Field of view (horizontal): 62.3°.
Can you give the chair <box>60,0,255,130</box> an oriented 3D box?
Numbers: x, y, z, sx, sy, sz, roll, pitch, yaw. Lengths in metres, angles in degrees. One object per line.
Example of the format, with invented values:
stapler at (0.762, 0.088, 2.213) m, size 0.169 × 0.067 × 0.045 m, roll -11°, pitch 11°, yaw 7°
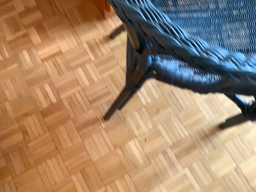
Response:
chair at (0.200, -0.240, 0.710) m, size 0.580 × 0.760 × 0.600 m, roll 2°, pitch 74°, yaw -2°
